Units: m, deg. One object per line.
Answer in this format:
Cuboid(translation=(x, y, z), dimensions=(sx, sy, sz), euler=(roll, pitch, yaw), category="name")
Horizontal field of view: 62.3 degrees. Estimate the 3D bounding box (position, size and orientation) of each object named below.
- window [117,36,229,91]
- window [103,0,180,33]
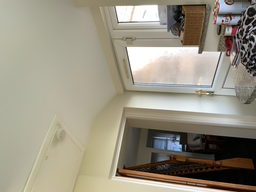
Cuboid(translation=(0.480, -0.350, 2.430), dimensions=(0.710, 1.080, 0.170), euler=(75, -159, -56), category="window")
Cuboid(translation=(0.130, -0.730, 1.830), dimensions=(0.330, 0.610, 0.150), euler=(76, -159, -56), category="window")
